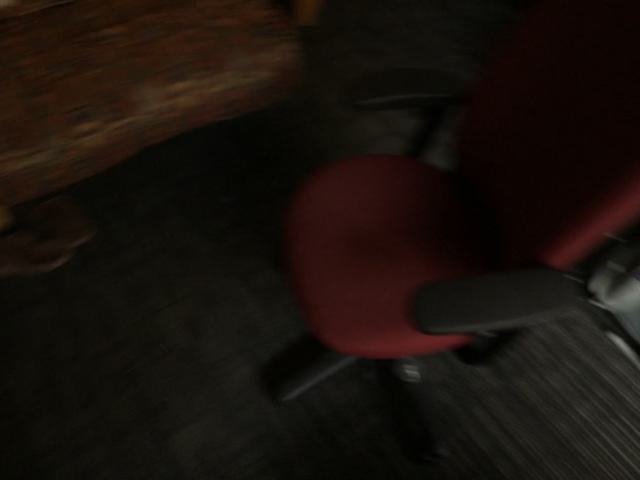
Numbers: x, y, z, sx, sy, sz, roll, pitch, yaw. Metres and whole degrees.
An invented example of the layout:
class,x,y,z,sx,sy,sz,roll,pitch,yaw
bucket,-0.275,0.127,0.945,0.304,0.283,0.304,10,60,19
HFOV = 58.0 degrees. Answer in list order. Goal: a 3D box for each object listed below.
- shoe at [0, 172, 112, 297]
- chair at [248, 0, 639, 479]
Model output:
class,x,y,z,sx,sy,sz,roll,pitch,yaw
shoe,-0.830,-0.020,1.670,0.350,0.070,0.270,-28,60,-20
chair,0.230,-0.030,1.160,0.670,0.970,0.670,-5,54,-5
